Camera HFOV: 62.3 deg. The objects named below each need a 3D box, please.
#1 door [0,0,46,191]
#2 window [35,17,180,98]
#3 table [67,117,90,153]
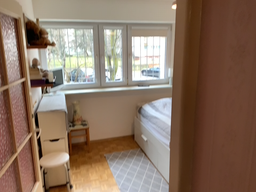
[{"bbox_3d":[-0.680,0.400,1.270,0.080,1.900,0.900,-3,13,-9],"label":"door"},{"bbox_3d":[-0.240,-0.690,3.780,2.490,1.250,0.180,-5,14,-18],"label":"window"},{"bbox_3d":[-0.850,0.650,3.610,0.340,0.470,0.340,-4,14,-16],"label":"table"}]
